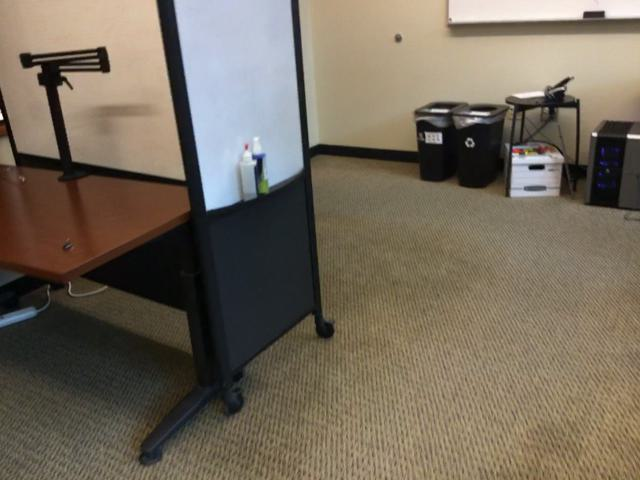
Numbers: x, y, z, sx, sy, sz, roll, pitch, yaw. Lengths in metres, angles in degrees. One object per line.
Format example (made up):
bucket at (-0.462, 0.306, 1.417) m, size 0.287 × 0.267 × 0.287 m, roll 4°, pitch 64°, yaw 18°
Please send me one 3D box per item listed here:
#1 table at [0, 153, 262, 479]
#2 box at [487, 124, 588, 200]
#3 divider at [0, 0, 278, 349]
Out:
table at (-1.070, 0.210, 2.080) m, size 1.490 × 0.840 × 0.770 m, roll 9°, pitch 23°, yaw 32°
box at (1.450, -0.540, 3.840) m, size 0.490 × 0.370 × 0.550 m, roll 9°, pitch 23°, yaw 32°
divider at (-0.880, -0.470, 2.280) m, size 1.500 × 1.550 × 0.180 m, roll 9°, pitch 23°, yaw 33°
